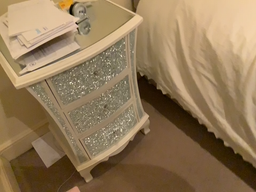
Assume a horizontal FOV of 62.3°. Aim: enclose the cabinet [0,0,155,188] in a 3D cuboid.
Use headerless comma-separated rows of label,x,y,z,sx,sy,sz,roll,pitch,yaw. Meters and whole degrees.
cabinet,-0.210,-0.010,1.080,0.480,0.820,0.470,-33,53,-19
